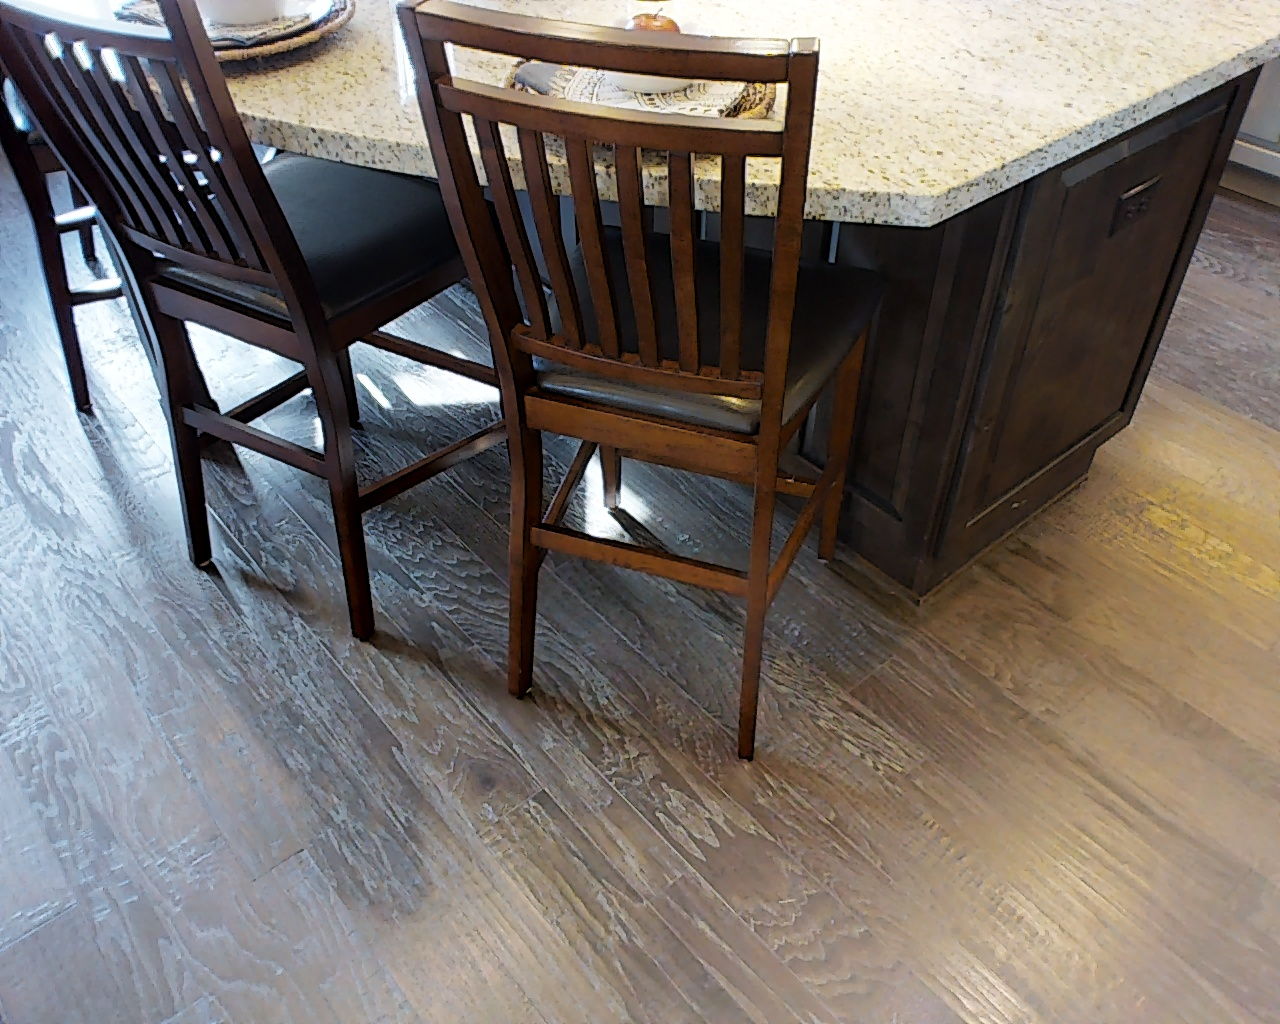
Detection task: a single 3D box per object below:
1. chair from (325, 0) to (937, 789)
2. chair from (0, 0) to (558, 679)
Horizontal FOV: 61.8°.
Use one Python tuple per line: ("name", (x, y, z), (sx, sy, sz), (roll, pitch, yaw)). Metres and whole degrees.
("chair", (0.060, -0.260, 1.600), (0.550, 1.100, 0.710), (11, 43, 12))
("chair", (-0.540, -0.380, 1.720), (0.520, 1.090, 0.570), (24, 47, 25))
